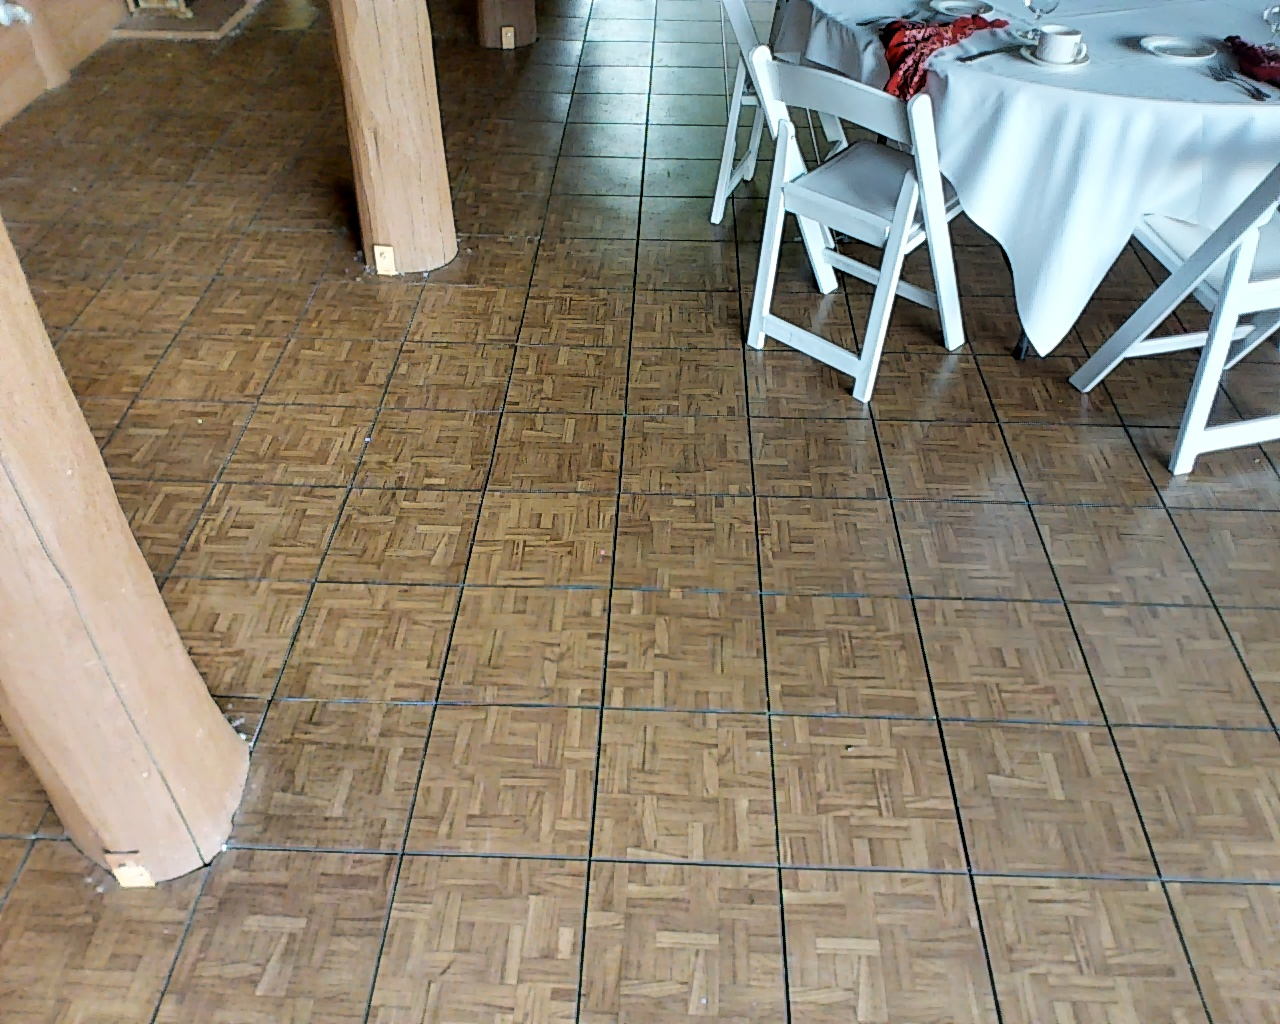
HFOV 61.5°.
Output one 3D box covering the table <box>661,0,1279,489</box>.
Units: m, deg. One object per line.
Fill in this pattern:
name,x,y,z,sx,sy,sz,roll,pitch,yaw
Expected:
table,1.240,-1.110,3.040,1.840,0.810,1.760,-14,43,-15
